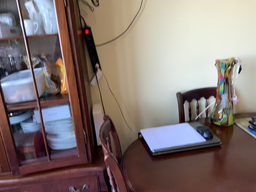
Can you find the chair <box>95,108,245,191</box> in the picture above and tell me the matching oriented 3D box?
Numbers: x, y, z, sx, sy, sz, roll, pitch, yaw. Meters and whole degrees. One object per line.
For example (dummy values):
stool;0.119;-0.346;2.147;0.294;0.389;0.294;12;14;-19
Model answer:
chair;0.170;0.590;1.090;0.540;0.930;0.420;-5;17;-3
